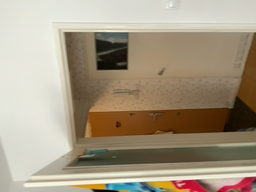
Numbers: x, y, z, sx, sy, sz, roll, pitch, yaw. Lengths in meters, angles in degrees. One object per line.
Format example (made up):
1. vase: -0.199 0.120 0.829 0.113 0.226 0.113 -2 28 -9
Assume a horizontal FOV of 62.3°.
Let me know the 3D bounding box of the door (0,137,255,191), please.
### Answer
1. door: 0.400 0.320 1.160 0.850 2.510 0.110 117 152 -80
